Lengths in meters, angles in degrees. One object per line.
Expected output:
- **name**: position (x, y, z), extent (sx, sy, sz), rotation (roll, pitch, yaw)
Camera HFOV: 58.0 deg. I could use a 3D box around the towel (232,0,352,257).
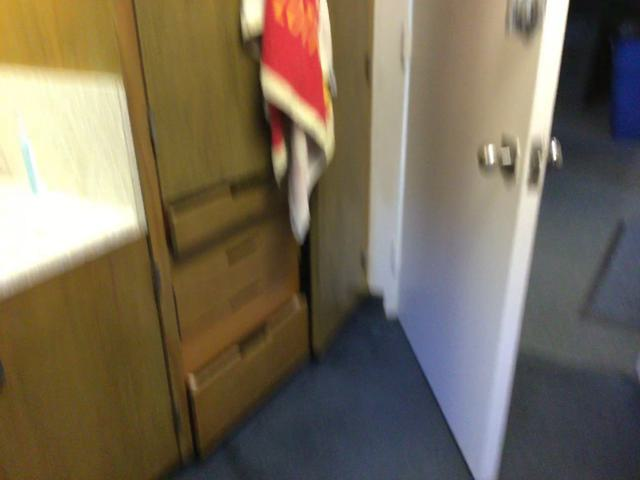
- **towel**: position (-0.060, -0.590, 1.380), extent (0.140, 1.240, 0.310), rotation (12, 28, 28)
